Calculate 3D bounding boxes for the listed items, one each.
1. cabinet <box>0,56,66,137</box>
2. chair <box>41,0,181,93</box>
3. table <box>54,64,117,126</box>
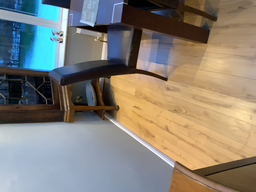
[{"bbox_3d":[-1.290,0.010,2.290,0.460,1.040,0.730,-43,54,47],"label":"cabinet"},{"bbox_3d":[-0.130,-0.390,1.750,0.440,0.990,0.610,26,110,54],"label":"chair"},{"bbox_3d":[-0.560,0.000,2.720,0.400,0.600,0.640,-43,54,47],"label":"table"}]
